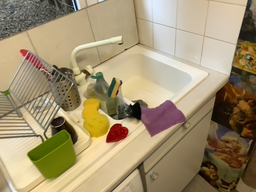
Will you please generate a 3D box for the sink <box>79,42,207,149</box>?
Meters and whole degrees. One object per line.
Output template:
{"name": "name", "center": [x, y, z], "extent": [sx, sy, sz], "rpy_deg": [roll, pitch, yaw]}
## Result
{"name": "sink", "center": [0.070, -0.050, 1.150], "extent": [0.420, 0.200, 0.510], "rpy_deg": [-35, 47, -28]}
